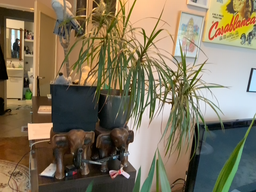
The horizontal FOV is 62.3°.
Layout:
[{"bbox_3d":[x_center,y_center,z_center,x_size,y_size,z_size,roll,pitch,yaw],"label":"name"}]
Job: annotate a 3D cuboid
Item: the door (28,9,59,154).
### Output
[{"bbox_3d":[-1.180,-0.190,3.000,0.070,1.810,0.730,6,11,1],"label":"door"}]
